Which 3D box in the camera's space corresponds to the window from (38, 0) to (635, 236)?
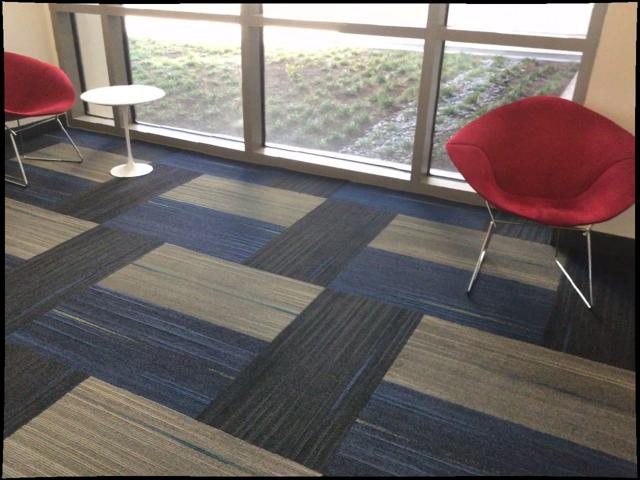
[{"bbox_3d":[-0.279,-1.564,3.400,3.873,2.375,0.290,14,31,25],"label":"window"}]
